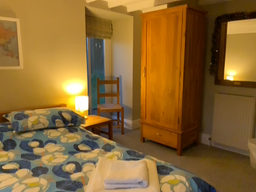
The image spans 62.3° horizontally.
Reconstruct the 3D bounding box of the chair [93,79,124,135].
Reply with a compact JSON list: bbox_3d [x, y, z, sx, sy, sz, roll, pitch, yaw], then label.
[{"bbox_3d":[-0.350,0.160,3.710,0.450,0.880,0.510,-2,10,-13],"label":"chair"}]

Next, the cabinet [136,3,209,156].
[{"bbox_3d":[0.620,-0.230,3.100,0.730,1.900,0.660,9,13,43],"label":"cabinet"}]
